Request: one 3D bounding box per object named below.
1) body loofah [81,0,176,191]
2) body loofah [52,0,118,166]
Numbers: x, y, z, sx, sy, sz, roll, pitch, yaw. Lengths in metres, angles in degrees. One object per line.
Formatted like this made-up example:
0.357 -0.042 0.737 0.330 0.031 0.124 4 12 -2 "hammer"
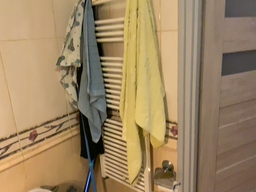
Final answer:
0.020 0.080 1.120 0.390 1.280 0.200 9 19 35 "body loofah"
-0.240 -0.080 1.280 0.240 0.970 0.180 8 19 34 "body loofah"
